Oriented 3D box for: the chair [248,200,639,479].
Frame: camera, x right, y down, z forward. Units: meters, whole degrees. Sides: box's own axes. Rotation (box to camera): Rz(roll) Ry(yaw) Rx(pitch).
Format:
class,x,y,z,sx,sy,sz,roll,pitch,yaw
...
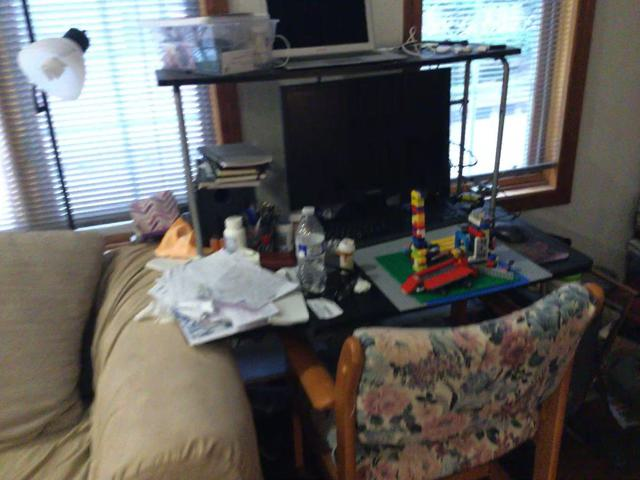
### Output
class,x,y,z,sx,sy,sz,roll,pitch,yaw
chair,0.250,0.410,1.450,0.660,0.790,0.720,-9,21,-16
